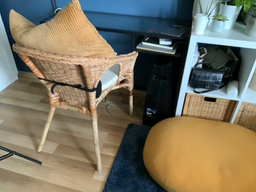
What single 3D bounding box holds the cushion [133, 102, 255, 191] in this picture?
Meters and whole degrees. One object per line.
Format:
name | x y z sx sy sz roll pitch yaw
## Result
cushion | 0.510 0.370 1.300 0.830 0.240 0.580 10 36 12
